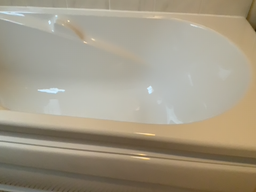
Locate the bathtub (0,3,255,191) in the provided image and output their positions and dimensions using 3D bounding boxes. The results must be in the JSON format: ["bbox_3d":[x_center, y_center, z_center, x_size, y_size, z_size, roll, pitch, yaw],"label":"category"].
[{"bbox_3d":[-0.360,0.020,0.910,1.710,0.540,0.710,6,43,6],"label":"bathtub"}]
